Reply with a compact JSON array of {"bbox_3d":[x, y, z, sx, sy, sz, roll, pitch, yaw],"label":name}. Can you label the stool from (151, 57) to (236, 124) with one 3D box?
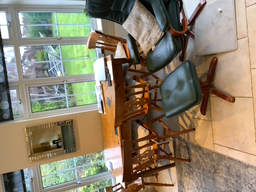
[{"bbox_3d":[0.560,-0.040,1.940,0.490,0.440,0.410,132,127,-61],"label":"stool"}]
